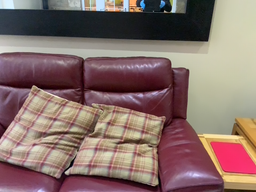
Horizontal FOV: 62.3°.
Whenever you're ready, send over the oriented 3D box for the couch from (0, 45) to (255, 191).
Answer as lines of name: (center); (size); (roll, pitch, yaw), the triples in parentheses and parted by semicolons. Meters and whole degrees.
couch: (-0.360, 0.280, 1.470); (1.730, 0.990, 1.040); (3, 24, 1)
